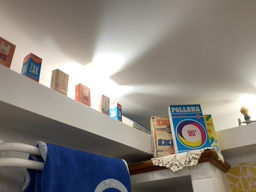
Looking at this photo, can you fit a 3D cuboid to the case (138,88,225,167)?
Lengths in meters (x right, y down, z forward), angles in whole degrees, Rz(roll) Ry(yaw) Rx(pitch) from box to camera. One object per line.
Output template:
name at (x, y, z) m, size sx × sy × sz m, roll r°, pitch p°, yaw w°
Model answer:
case at (0.250, 0.170, 1.020) m, size 0.300 × 0.260 × 0.240 m, roll -21°, pitch -33°, yaw 26°
